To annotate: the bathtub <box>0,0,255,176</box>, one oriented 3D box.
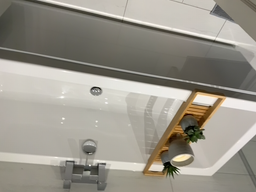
[{"bbox_3d":[-0.180,-0.010,1.220,1.660,0.560,0.690,8,132,-13],"label":"bathtub"}]
